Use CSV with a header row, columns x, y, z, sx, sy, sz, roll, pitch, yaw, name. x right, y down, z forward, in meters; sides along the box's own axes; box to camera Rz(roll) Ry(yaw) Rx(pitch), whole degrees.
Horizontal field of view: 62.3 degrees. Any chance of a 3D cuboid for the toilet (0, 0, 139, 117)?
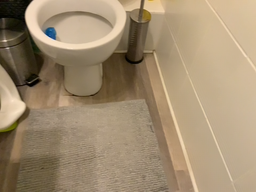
x,y,z,sx,sy,sz,roll,pitch,yaw,name
-0.200,-0.420,0.810,0.370,0.790,0.660,-1,51,-8,toilet
